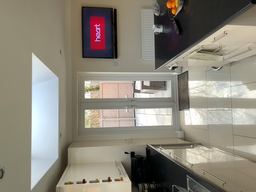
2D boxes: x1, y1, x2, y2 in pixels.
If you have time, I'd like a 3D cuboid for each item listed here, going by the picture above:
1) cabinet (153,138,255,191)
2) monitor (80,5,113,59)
[{"bbox_3d":[1.080,0.860,1.280,3.760,0.850,0.640,162,107,-80],"label":"cabinet"},{"bbox_3d":[-0.590,-1.200,3.980,0.040,0.600,1.000,163,106,-80],"label":"monitor"}]
